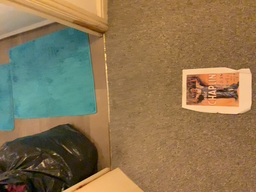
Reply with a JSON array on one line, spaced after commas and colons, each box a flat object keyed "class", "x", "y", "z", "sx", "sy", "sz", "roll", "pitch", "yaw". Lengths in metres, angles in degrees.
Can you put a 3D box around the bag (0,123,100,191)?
[{"class": "bag", "x": -0.500, "y": 0.450, "z": 1.240, "sx": 0.440, "sy": 0.510, "sz": 0.480, "roll": 1, "pitch": 92, "yaw": 30}]
